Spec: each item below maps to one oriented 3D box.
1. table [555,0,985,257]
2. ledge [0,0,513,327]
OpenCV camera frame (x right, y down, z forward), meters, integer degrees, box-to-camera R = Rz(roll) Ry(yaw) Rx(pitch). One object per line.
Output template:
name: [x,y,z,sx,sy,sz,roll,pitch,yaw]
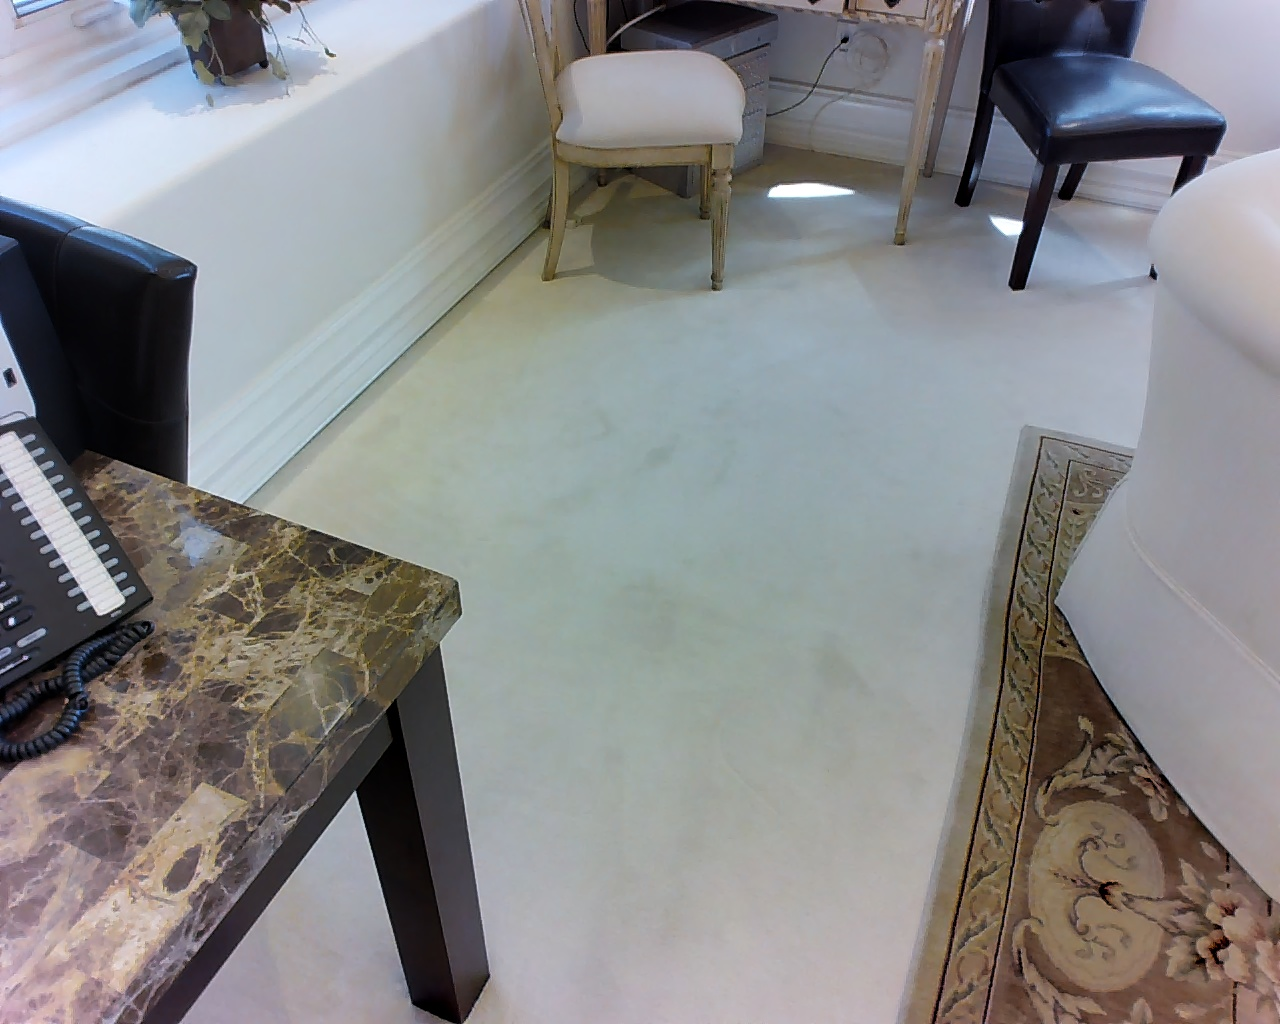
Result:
table: [0.380,-1.320,3.130,1.090,0.740,0.590,15,44,16]
ledge: [-0.870,-0.900,2.220,0.550,0.050,1.980,15,44,15]
